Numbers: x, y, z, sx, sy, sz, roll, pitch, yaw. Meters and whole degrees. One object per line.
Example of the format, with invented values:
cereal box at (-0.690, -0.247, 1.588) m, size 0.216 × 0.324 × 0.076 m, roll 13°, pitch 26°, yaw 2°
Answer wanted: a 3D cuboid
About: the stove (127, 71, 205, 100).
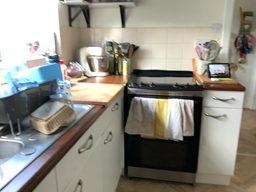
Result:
stove at (0.350, -0.120, 1.980) m, size 0.600 × 0.100 × 0.640 m, roll 4°, pitch 16°, yaw 10°
